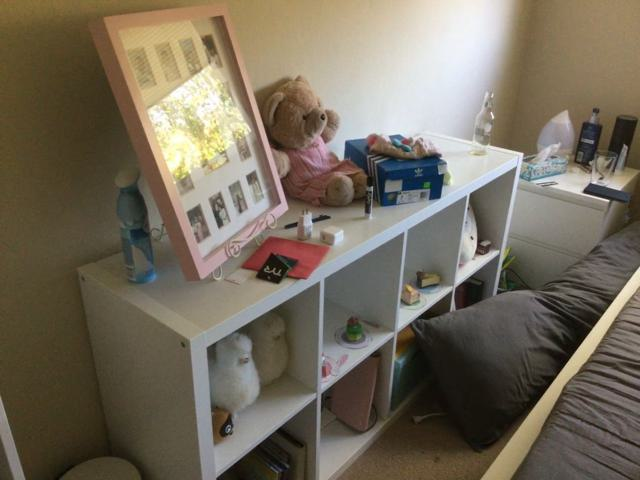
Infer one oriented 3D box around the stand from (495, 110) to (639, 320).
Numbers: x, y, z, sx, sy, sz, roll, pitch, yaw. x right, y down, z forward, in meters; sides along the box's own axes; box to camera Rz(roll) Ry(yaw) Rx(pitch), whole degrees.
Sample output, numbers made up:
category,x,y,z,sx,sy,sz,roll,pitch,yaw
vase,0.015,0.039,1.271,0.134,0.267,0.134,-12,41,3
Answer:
category,x,y,z,sx,sy,sz,roll,pitch,yaw
stand,1.130,-0.140,2.470,0.450,0.660,0.580,21,34,39
